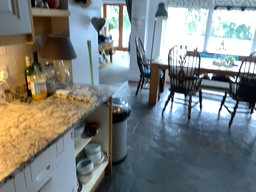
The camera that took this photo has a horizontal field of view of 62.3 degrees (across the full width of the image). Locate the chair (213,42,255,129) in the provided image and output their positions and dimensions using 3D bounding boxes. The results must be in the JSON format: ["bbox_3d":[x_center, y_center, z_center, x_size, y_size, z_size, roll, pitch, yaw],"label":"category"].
[{"bbox_3d":[1.740,-0.170,3.160,0.560,1.130,0.610,5,21,6],"label":"chair"}]

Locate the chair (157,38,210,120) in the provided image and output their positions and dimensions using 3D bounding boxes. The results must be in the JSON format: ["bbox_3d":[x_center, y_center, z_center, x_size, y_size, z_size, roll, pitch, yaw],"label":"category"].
[{"bbox_3d":[0.900,-0.310,3.460,0.600,1.140,0.580,12,23,22],"label":"chair"}]

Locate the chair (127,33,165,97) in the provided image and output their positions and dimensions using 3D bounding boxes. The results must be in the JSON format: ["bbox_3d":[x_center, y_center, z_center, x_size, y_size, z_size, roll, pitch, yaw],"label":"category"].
[{"bbox_3d":[0.360,-0.640,4.260,0.610,1.130,0.540,8,21,14],"label":"chair"}]
